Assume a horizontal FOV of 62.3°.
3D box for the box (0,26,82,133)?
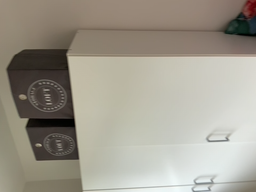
[{"bbox_3d":[-0.500,-0.140,1.320,0.580,0.330,0.440,-100,11,-58],"label":"box"}]
